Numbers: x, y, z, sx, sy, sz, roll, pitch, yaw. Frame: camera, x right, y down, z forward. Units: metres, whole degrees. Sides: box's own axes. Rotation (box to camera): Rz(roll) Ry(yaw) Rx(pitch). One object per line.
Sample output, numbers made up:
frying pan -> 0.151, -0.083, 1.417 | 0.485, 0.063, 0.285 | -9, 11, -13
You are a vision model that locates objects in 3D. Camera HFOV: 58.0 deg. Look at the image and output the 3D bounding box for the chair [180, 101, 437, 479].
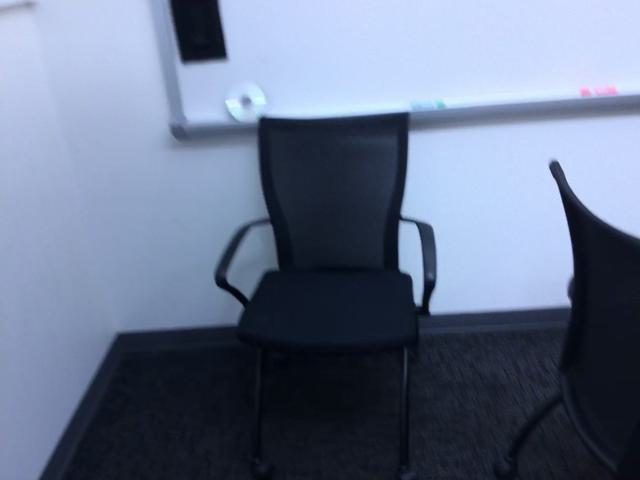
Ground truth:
chair -> 0.030, 0.120, 1.680 | 0.520, 0.850, 0.680 | -4, 26, 6
